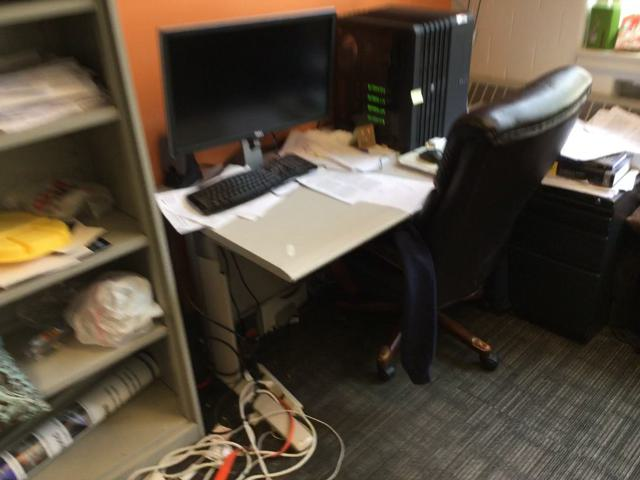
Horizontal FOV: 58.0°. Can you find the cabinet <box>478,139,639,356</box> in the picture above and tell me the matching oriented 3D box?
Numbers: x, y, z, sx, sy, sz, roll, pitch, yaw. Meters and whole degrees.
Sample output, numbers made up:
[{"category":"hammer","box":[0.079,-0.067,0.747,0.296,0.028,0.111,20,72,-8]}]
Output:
[{"category":"cabinet","box":[0.890,0.010,2.140,0.410,0.630,0.350,23,36,39]}]

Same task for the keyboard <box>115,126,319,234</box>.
[{"category":"keyboard","box":[-0.320,-0.220,1.890,0.340,0.130,0.550,23,36,39]}]

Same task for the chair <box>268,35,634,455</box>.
[{"category":"chair","box":[0.390,-0.070,1.960,0.760,1.050,0.760,-23,34,-35]}]
